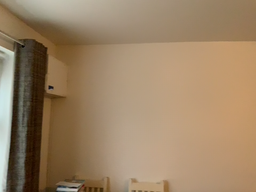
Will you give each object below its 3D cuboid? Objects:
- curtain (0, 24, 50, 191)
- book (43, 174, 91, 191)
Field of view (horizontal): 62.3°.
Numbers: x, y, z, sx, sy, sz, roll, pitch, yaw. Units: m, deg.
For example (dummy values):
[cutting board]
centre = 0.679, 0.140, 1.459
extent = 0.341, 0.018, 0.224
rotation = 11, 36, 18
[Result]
[curtain]
centre = -0.870, 0.400, 1.720
extent = 0.200, 1.860, 0.410
rotation = 1, -5, 5
[book]
centre = -0.540, 0.880, 1.940
extent = 0.300, 0.200, 0.410
rotation = 1, -5, 5
